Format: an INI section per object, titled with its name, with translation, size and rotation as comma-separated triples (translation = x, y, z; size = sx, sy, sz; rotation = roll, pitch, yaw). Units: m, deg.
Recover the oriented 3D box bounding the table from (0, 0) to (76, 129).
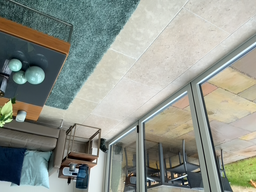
[table]
translation = -1.090, -0.200, 1.840
size = 0.790, 0.340, 1.420
rotation = 18, 143, -25
